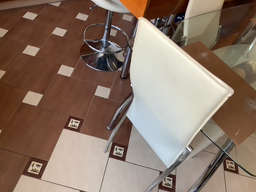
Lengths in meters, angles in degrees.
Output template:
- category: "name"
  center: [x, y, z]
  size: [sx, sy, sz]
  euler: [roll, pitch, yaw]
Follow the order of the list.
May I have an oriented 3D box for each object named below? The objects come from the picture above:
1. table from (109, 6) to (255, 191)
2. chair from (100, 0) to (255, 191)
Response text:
- category: "table"
  center: [0.590, 0.020, 1.360]
  size: [1.100, 0.690, 0.750]
  euler: [-23, 62, -30]
- category: "chair"
  center: [0.220, 0.090, 1.020]
  size: [0.480, 0.960, 0.370]
  euler: [-26, 63, -31]
